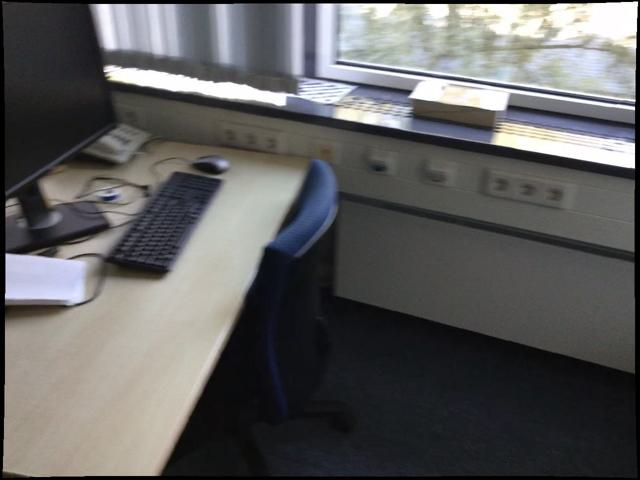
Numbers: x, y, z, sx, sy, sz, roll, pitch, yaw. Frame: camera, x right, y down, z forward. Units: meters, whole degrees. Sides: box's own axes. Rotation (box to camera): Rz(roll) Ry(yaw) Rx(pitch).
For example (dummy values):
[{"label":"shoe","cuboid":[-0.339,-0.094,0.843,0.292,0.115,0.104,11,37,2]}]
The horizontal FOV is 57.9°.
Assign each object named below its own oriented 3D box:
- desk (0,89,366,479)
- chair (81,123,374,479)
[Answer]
[{"label":"desk","cuboid":[-0.549,0.270,1.470,0.959,0.761,1.380,12,35,14]},{"label":"chair","cuboid":[-0.180,0.210,1.540,0.450,0.811,0.580,12,35,14]}]
